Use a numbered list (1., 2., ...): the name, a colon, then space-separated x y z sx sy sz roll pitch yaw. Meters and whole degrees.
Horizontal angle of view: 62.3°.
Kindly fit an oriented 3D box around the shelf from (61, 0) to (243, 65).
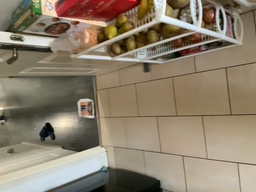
1. shelf: 0.150 -0.320 1.120 0.610 0.750 0.170 -6 89 45
